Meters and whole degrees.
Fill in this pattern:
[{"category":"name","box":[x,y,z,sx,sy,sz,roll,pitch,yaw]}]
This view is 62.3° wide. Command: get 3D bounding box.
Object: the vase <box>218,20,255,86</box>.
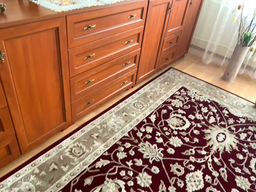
[{"category":"vase","box":[1.420,-0.540,2.660,0.210,0.680,0.470,27,40,24]}]
